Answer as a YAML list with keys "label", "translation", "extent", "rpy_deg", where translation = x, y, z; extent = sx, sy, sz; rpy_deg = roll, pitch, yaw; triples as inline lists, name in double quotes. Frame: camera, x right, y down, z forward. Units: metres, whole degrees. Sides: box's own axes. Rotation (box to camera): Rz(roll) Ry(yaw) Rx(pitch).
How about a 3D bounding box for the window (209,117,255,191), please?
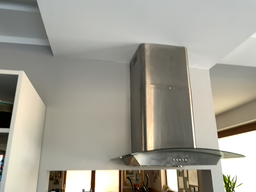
- label: "window"
  translation: [2.120, 1.410, 4.120]
  extent: [0.130, 1.730, 1.420]
  rpy_deg: [3, -18, -11]
